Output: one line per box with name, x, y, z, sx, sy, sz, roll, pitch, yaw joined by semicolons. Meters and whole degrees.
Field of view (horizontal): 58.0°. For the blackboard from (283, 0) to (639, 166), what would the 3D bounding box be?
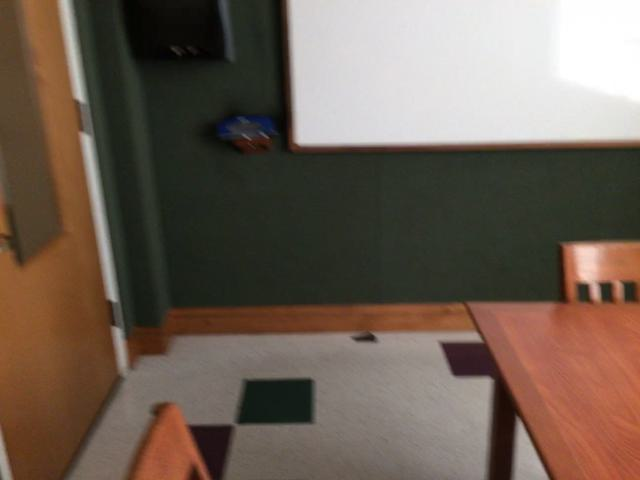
blackboard;0.800;-0.990;2.340;1.890;1.310;0.120;-2;19;1
